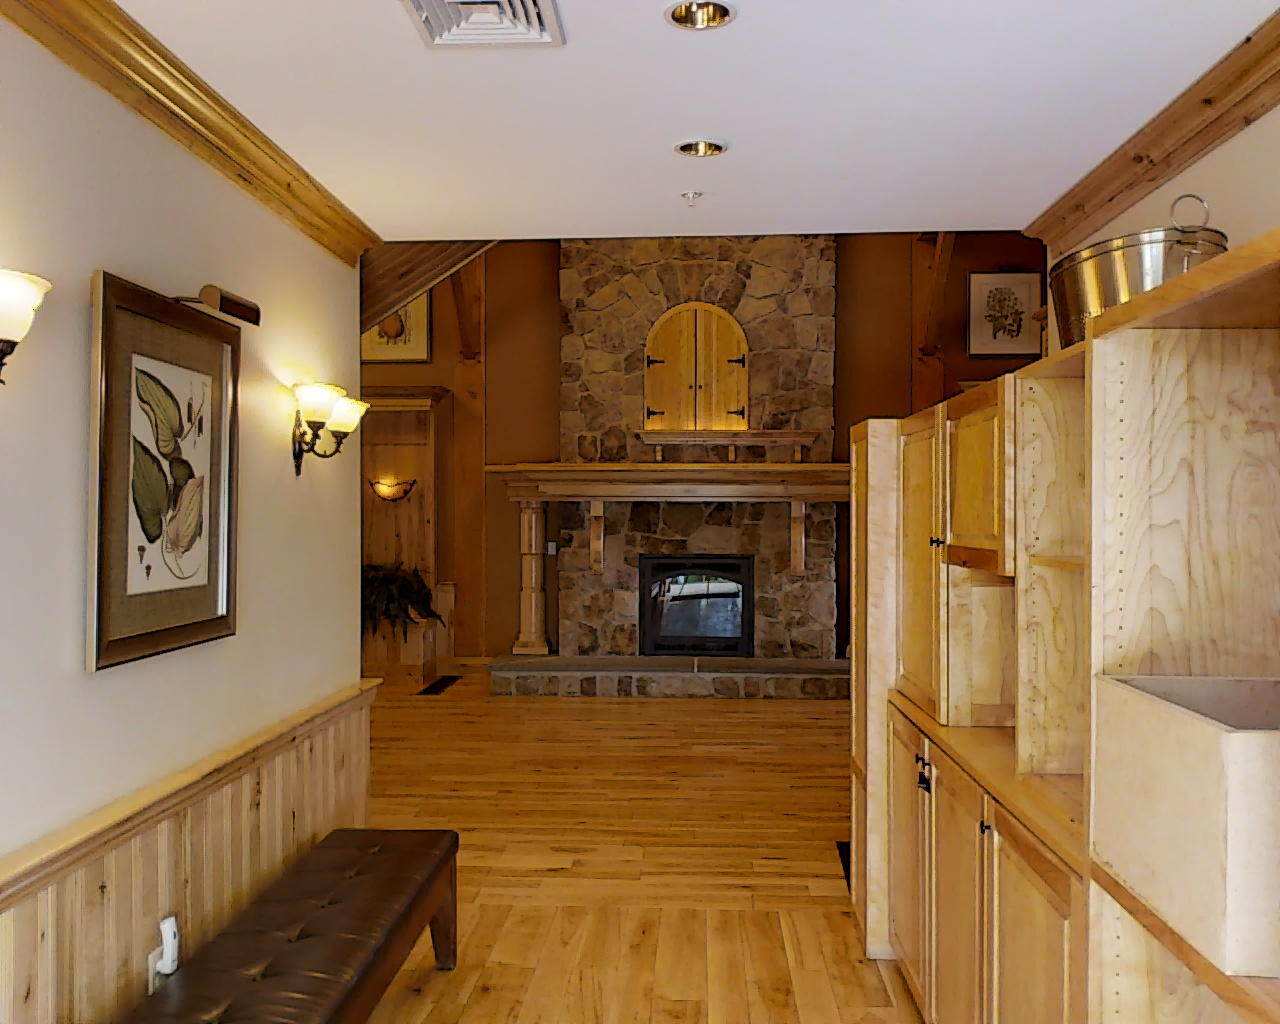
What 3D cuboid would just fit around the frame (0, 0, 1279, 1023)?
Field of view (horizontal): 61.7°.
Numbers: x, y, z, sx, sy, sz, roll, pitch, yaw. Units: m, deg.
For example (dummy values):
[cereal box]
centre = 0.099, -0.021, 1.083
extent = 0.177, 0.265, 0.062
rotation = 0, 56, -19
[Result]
[frame]
centre = 0.800, -1.230, 3.870
extent = 4.601, 5.539, 8.390
rotation = 0, 1, 3
